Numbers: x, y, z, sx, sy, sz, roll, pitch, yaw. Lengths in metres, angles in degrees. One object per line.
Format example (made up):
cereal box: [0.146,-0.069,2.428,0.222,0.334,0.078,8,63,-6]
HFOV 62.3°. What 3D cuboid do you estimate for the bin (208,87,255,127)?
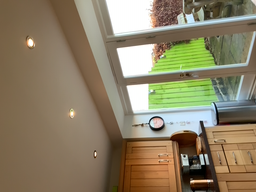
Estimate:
bin: [1.630,0.170,3.200,0.360,0.700,0.420,76,-167,-46]
